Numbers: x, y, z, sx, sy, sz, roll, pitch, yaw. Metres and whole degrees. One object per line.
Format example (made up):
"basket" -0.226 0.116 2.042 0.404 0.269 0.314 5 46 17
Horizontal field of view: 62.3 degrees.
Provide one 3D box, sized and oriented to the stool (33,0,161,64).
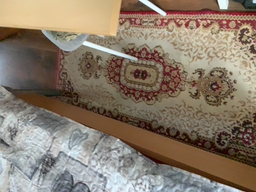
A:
"stool" -0.120 -0.360 0.990 0.330 0.450 0.320 17 100 30
